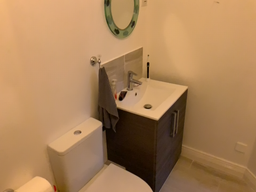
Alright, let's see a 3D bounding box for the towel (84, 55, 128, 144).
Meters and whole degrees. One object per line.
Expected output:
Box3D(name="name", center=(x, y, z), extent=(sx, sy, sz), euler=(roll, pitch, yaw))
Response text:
Box3D(name="towel", center=(-0.140, 0.030, 1.500), extent=(0.240, 0.580, 0.140), euler=(15, 31, 29))
